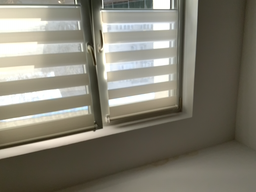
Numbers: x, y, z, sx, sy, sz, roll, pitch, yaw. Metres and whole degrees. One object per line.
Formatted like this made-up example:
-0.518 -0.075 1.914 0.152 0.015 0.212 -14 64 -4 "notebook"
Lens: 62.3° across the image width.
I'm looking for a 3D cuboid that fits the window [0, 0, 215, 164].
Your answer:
-0.200 -0.320 1.340 1.720 1.250 0.170 -8 -164 -21 "window"
